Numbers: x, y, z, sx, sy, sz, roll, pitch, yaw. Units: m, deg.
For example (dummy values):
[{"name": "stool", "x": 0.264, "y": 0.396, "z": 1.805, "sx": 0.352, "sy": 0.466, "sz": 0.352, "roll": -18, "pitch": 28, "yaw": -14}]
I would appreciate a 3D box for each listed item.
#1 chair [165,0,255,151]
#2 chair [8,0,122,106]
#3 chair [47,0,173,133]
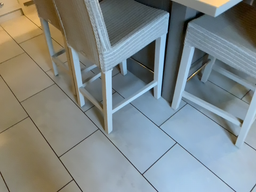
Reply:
[{"name": "chair", "x": 0.570, "y": -0.250, "z": 1.090, "sx": 0.450, "sy": 0.970, "sz": 0.490, "roll": -33, "pitch": 55, "yaw": -24}, {"name": "chair", "x": -0.390, "y": -0.470, "z": 1.380, "sx": 0.480, "sy": 0.900, "sz": 0.430, "roll": -34, "pitch": 55, "yaw": -24}, {"name": "chair", "x": -0.070, "y": -0.300, "z": 1.190, "sx": 0.480, "sy": 0.940, "sz": 0.360, "roll": -34, "pitch": 55, "yaw": -24}]
